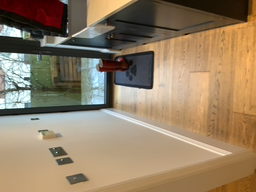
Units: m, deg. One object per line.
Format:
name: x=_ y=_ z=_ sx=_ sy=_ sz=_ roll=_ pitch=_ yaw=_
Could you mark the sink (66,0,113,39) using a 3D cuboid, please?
sink: x=-0.360 y=-0.860 z=1.860 sx=0.540 sy=0.230 sz=0.610 roll=9 pitch=99 yaw=59
